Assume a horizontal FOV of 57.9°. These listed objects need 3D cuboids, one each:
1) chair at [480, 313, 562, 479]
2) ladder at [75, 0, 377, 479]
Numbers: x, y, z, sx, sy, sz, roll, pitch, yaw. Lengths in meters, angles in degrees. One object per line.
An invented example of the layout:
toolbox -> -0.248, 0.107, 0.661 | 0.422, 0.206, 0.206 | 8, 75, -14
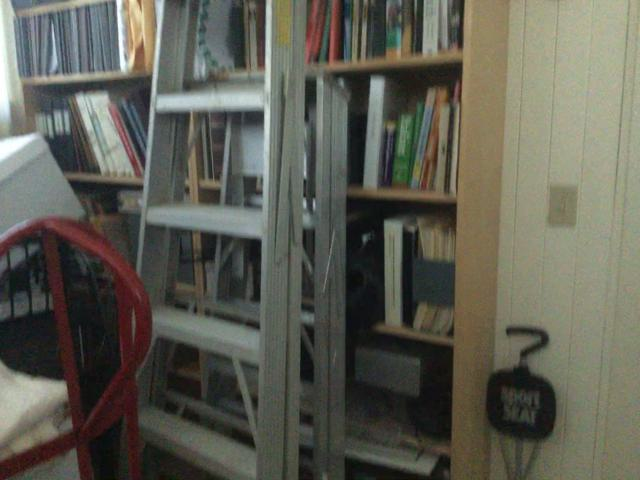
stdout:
chair -> 0.570, 0.650, 1.680 | 0.180, 0.860, 0.100 | 6, 13, 32
ladder -> -0.250, -0.110, 1.520 | 0.640, 2.390, 0.410 | 6, 9, 32
